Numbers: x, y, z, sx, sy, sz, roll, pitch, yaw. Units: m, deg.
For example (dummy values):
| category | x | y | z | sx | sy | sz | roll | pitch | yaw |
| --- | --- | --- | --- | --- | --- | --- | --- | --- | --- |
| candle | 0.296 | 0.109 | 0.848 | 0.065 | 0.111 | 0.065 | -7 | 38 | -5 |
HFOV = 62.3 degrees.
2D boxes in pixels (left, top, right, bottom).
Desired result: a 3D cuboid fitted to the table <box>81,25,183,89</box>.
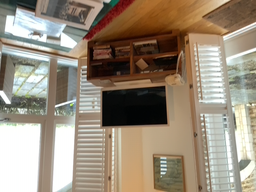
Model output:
| category | x | y | z | sx | sy | sz | roll | pitch | yaw |
| --- | --- | --- | --- | --- | --- | --- | --- | --- | --- |
| table | 0.070 | -0.390 | 2.390 | 1.040 | 0.450 | 0.510 | -4 | 169 | 14 |
